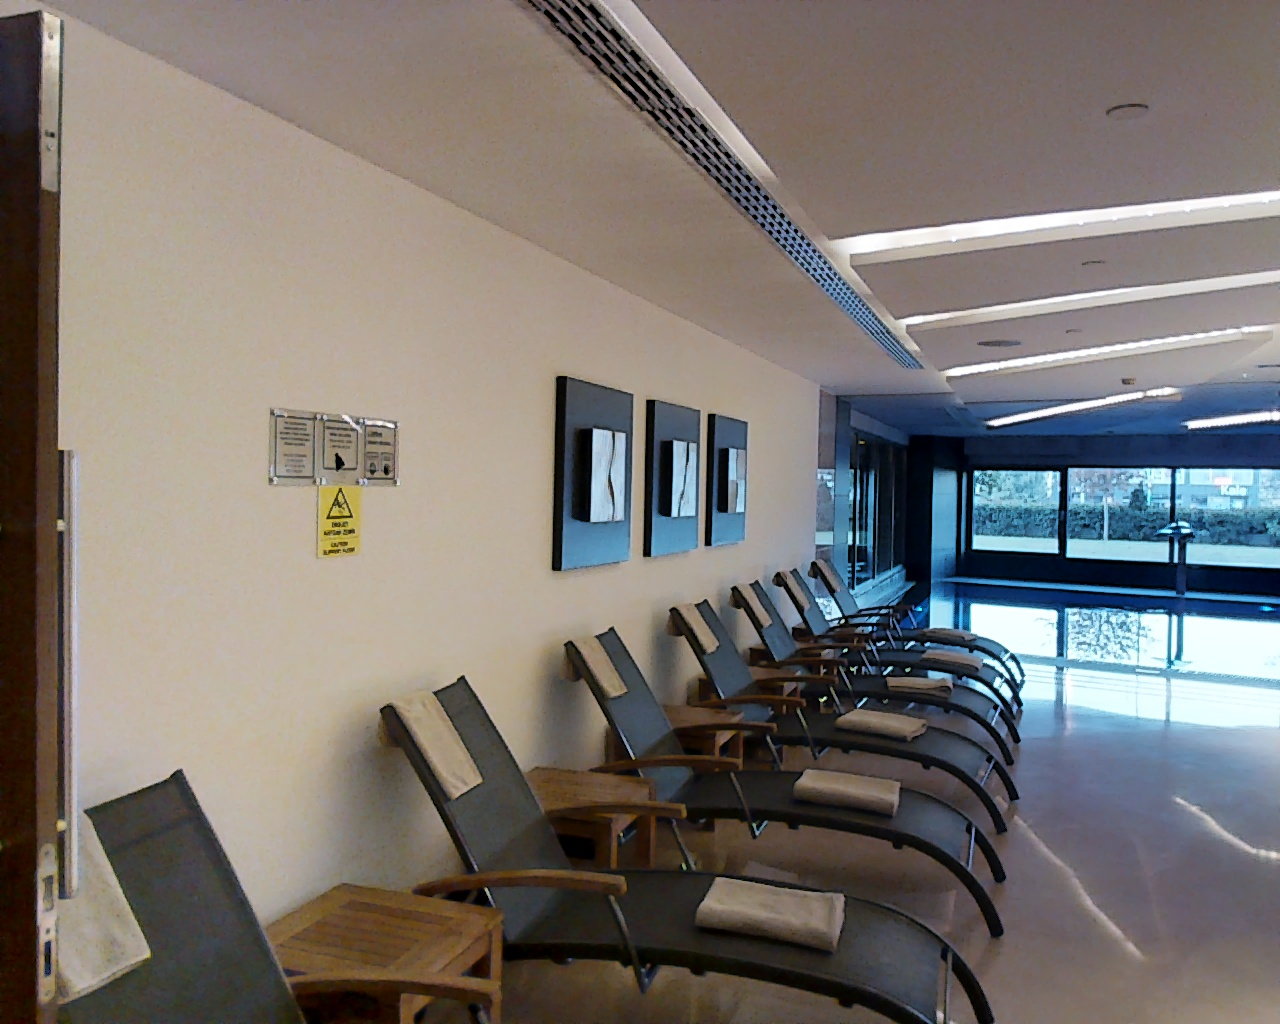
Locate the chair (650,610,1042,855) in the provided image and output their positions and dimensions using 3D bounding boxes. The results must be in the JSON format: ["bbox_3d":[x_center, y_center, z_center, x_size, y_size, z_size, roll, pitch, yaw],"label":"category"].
[{"bbox_3d":[1.070,1.060,5.580,1.860,0.940,0.790,1,1,22],"label":"chair"}]

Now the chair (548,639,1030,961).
[{"bbox_3d":[0.610,1.070,4.370,1.800,0.910,0.750,1,1,21],"label":"chair"}]

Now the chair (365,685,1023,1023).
[{"bbox_3d":[0.170,1.080,3.140,1.760,0.910,0.730,1,1,19],"label":"chair"}]

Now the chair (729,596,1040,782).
[{"bbox_3d":[1.530,1.050,6.750,1.790,0.910,0.720,1,1,22],"label":"chair"}]
